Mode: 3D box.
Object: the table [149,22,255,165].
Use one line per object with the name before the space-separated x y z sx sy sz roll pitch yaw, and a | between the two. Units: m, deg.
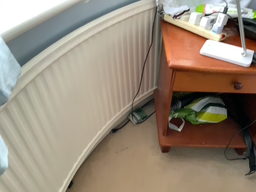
table | 0.400 0.000 1.100 0.520 0.600 0.410 3 41 1
